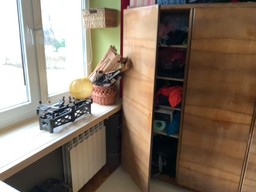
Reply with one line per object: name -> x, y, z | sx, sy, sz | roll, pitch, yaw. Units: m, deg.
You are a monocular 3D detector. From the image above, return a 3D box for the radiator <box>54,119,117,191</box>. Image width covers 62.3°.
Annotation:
radiator -> -0.400, 0.630, 2.220 | 0.230, 0.510, 0.750 | 9, 18, 23
